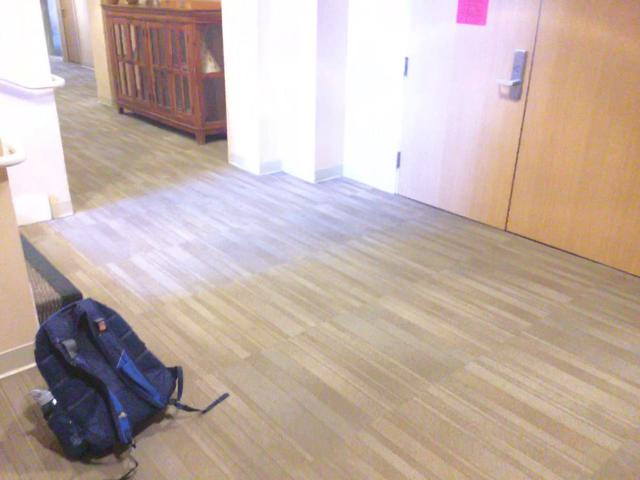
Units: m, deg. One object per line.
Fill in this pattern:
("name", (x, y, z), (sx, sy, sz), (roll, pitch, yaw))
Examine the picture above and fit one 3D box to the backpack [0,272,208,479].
("backpack", (-0.700, 0.420, 1.890), (0.460, 0.400, 0.460), (17, 23, 29))
